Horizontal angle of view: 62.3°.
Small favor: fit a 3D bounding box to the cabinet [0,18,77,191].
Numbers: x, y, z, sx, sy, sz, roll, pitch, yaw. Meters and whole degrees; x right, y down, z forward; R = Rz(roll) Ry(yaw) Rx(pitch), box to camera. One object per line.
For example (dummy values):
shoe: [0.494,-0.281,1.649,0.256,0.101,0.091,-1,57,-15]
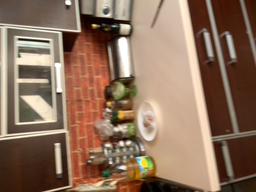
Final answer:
cabinet: [-0.670,0.080,1.170,0.350,0.630,0.910,152,113,-63]
